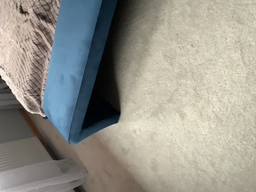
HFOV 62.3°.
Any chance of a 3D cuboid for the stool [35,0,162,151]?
[{"bbox_3d":[-0.150,-0.440,1.260,0.390,0.430,1.530,37,118,35],"label":"stool"}]
